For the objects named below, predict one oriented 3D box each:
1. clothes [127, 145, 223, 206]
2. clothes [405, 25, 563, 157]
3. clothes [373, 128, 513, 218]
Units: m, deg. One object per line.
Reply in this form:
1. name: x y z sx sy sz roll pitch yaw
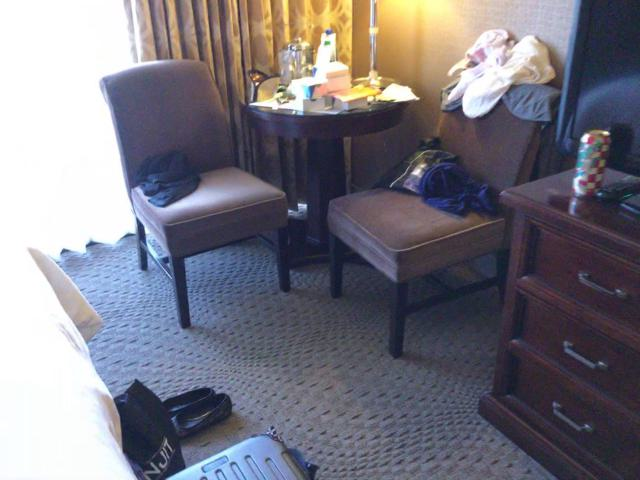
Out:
1. clothes: -0.590 -0.270 2.330 0.270 0.120 0.330 -16 27 -28
2. clothes: 0.590 -0.590 2.200 0.200 0.400 0.570 -16 27 -28
3. clothes: 0.450 -0.270 2.200 0.280 0.190 0.450 -16 27 -28
